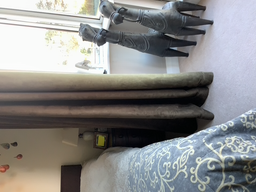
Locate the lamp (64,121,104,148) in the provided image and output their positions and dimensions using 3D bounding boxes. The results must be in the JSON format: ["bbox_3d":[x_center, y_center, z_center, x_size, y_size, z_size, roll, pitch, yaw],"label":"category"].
[{"bbox_3d":[-0.530,0.460,2.540,0.250,0.450,0.290,135,134,-67],"label":"lamp"}]

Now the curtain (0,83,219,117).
[{"bbox_3d":[-0.490,0.050,1.530,0.430,2.370,0.190,161,110,-72],"label":"curtain"}]
